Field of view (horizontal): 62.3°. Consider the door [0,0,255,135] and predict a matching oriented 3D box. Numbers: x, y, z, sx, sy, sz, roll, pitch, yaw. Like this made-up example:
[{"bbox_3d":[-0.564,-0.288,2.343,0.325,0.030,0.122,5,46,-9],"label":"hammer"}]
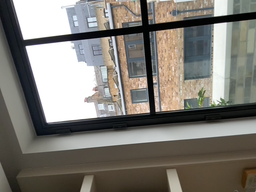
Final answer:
[{"bbox_3d":[0.500,-0.380,1.140,0.050,2.310,1.120,-88,-9,-67],"label":"door"}]
